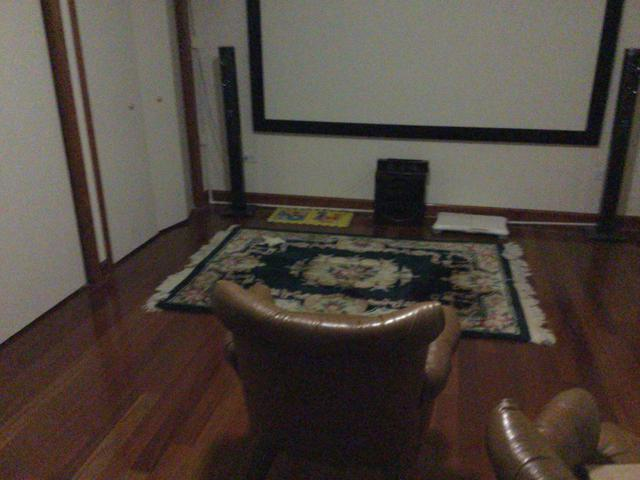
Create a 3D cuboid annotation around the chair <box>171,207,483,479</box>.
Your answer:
[{"bbox_3d":[0.070,0.400,1.680,0.670,0.790,0.690,3,22,10],"label":"chair"}]
